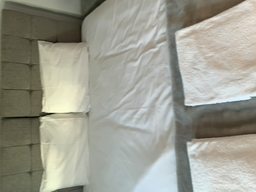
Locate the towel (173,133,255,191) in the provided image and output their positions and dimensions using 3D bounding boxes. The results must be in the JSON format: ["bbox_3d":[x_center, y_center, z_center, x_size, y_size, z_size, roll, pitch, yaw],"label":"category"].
[{"bbox_3d":[0.360,0.330,0.750,0.410,0.070,0.370,-22,71,54],"label":"towel"}]

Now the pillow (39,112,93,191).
[{"bbox_3d":[-0.550,0.500,1.900,0.130,0.430,0.690,-176,87,-74],"label":"pillow"}]

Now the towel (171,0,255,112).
[{"bbox_3d":[0.340,-0.140,0.830,0.370,0.070,0.380,-12,79,55],"label":"towel"}]

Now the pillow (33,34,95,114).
[{"bbox_3d":[-0.560,-0.180,1.910,0.140,0.490,0.680,160,112,-76],"label":"pillow"}]
